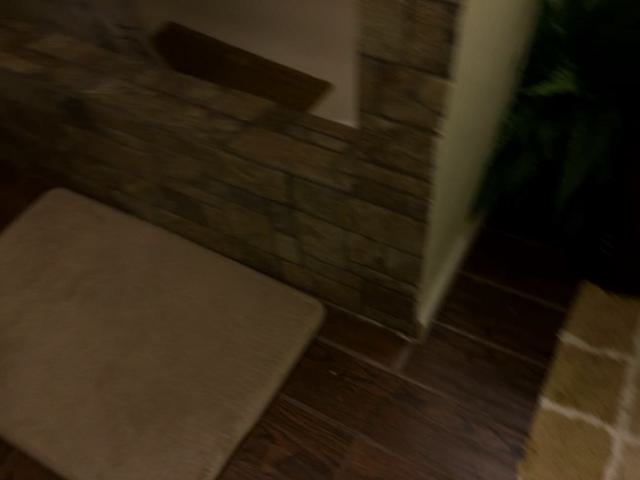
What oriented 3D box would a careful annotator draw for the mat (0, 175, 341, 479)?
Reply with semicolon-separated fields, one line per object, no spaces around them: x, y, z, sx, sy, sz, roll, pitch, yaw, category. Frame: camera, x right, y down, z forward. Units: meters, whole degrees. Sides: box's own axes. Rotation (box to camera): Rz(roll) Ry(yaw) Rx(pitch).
-0.510;0.200;1.370;0.940;0.050;0.610;21;56;21;mat

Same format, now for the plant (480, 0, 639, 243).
0.590;-0.350;1.270;0.230;0.350;0.590;21;56;21;plant
